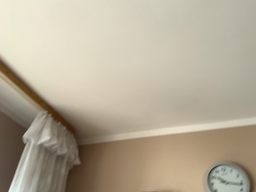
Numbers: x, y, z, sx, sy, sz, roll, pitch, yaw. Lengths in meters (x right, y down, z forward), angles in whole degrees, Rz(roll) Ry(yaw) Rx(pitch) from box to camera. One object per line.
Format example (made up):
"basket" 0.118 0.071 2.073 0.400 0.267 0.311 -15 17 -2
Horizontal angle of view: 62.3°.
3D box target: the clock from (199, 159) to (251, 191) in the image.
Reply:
"clock" 0.620 0.550 1.370 0.260 0.240 0.070 -10 -39 15
